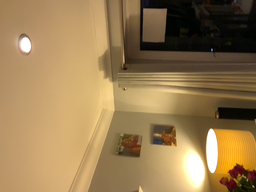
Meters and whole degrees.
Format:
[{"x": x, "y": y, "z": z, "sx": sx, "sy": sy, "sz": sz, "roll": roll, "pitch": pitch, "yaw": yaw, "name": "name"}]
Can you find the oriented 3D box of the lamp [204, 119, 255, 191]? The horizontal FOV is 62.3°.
[{"x": 0.820, "y": 0.420, "z": 1.440, "sx": 0.400, "sy": 0.470, "sz": 0.320, "roll": -76, "pitch": -13, "yaw": -57, "name": "lamp"}]
